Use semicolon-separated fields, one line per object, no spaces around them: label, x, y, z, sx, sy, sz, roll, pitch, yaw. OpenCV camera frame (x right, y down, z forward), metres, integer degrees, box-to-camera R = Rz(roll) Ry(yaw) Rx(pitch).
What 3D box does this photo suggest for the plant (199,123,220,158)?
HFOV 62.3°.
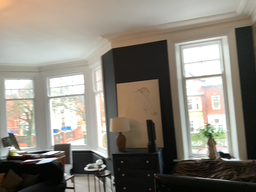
plant;1.320;0.710;3.430;0.280;0.500;0.240;-4;-2;21
